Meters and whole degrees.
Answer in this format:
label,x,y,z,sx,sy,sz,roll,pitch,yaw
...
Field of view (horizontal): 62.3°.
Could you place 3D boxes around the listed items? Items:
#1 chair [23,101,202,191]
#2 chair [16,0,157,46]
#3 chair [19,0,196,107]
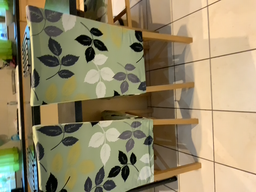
label,x,y,z,sx,sy,sz,roll,pitch,yaw
chair,-0.100,0.290,1.310,0.570,0.920,0.460,-2,91,60
chair,-0.310,-0.710,1.590,0.480,0.920,0.500,-2,91,60
chair,-0.130,-0.190,1.320,0.550,0.930,0.430,-2,91,60
